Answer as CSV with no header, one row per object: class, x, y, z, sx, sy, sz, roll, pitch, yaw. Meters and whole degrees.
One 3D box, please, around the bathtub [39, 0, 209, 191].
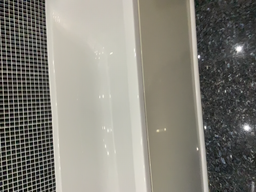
bathtub,-0.040,0.170,1.260,0.760,0.510,1.680,-6,88,43
